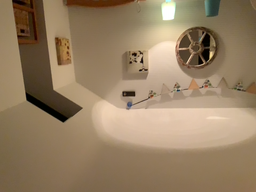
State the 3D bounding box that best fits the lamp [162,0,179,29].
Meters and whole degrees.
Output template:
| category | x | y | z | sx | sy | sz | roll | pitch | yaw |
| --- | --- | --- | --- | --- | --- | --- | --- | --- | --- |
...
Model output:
| category | x | y | z | sx | sy | sz | roll | pitch | yaw |
| --- | --- | --- | --- | --- | --- | --- | --- | --- | --- |
| lamp | 0.490 | -1.040 | 2.500 | 0.180 | 0.440 | 0.280 | 0 | -167 | 8 |
